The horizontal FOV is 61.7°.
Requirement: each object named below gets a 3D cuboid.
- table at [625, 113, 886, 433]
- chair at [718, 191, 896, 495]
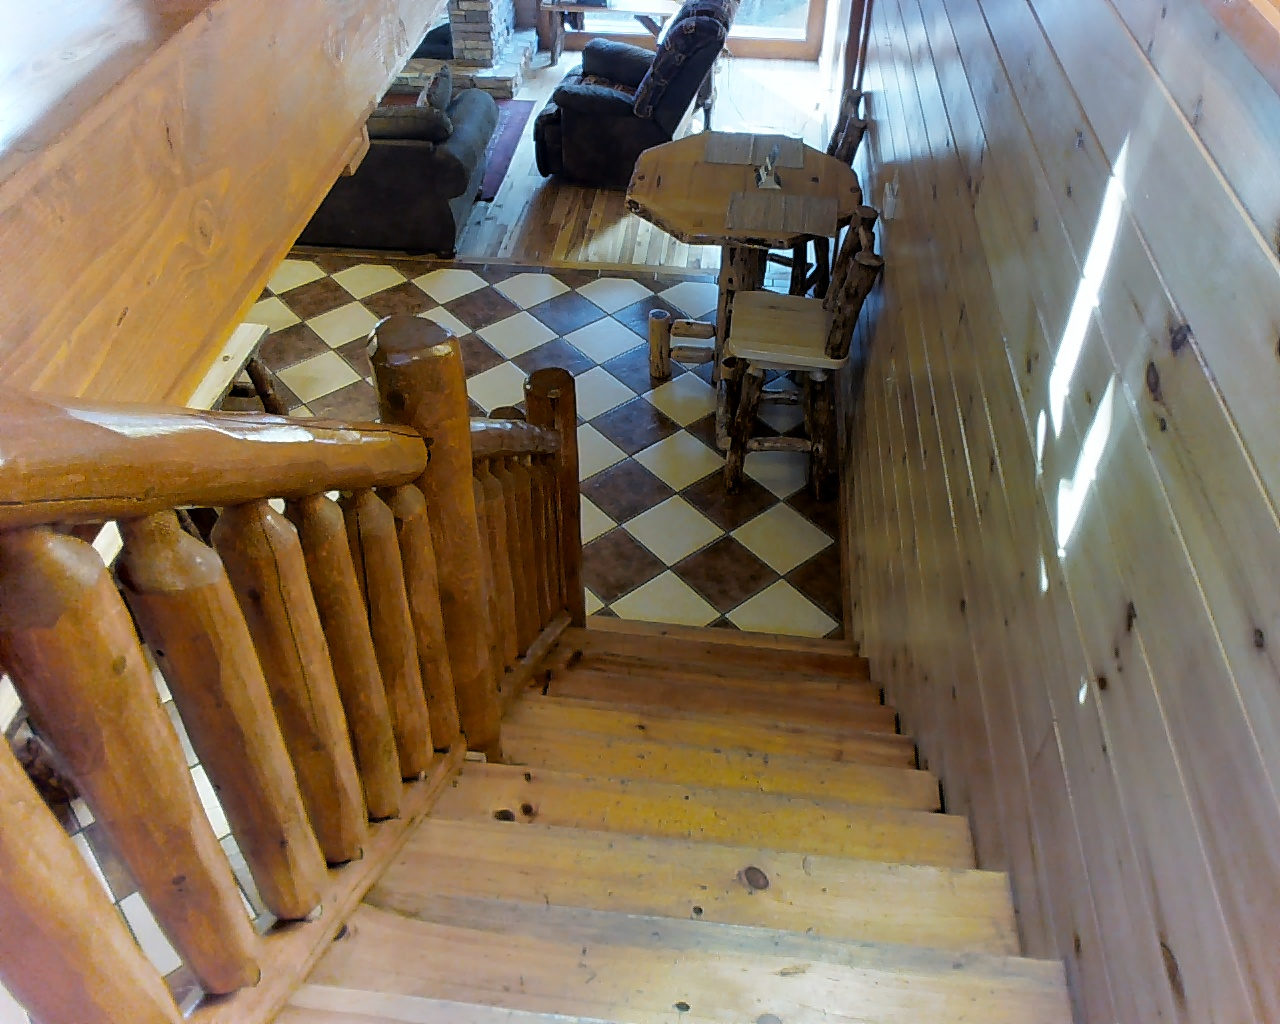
[{"bbox_3d":[0.540,-1.170,5.230,1.090,1.090,1.020,5,44,5],"label":"table"},{"bbox_3d":[0.690,-0.700,4.640,0.610,1.190,0.500,5,44,5],"label":"chair"}]
